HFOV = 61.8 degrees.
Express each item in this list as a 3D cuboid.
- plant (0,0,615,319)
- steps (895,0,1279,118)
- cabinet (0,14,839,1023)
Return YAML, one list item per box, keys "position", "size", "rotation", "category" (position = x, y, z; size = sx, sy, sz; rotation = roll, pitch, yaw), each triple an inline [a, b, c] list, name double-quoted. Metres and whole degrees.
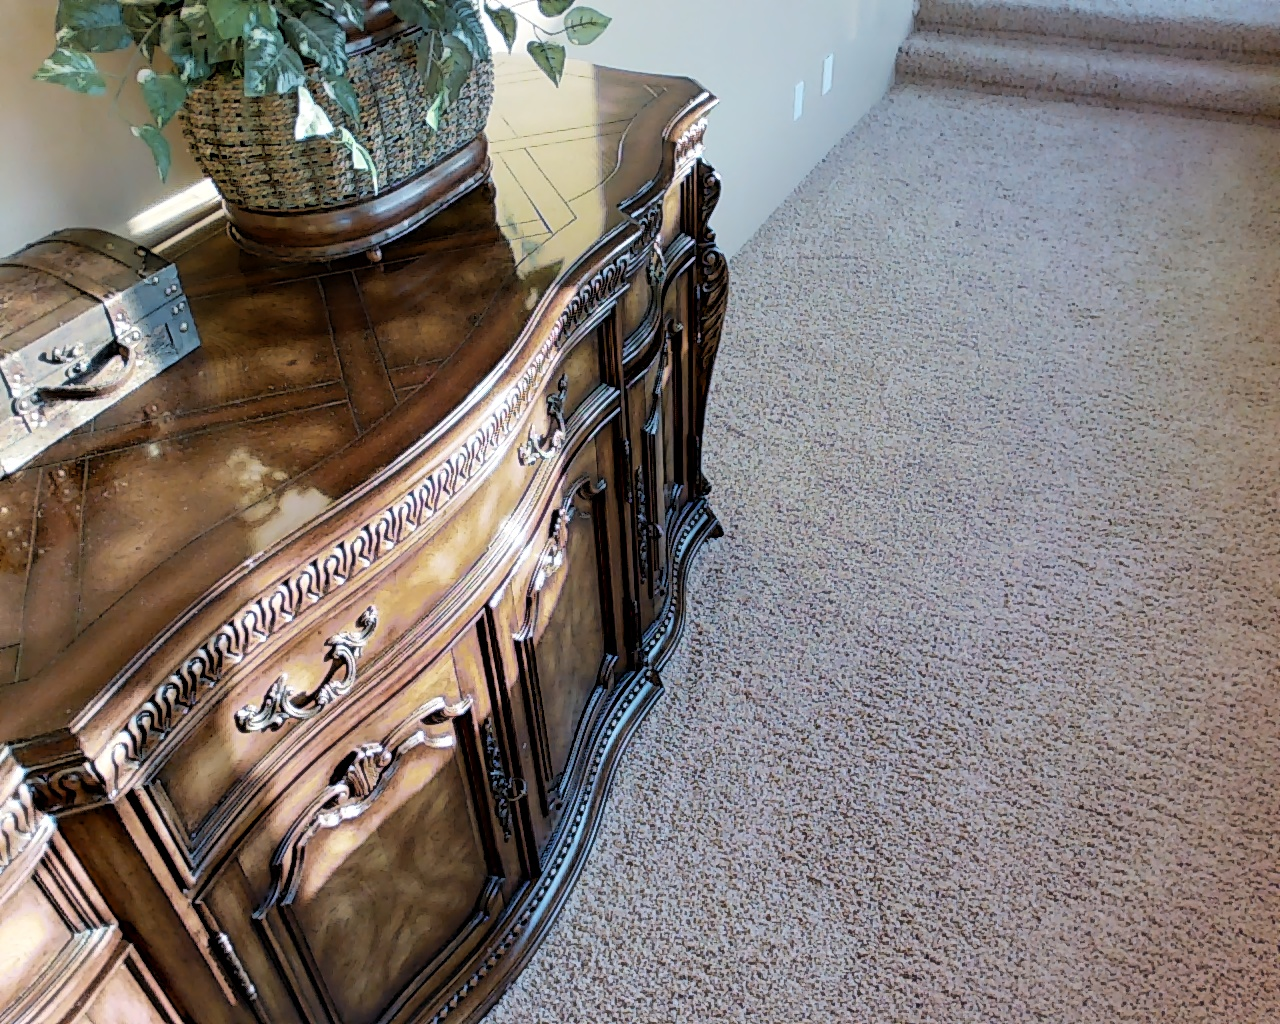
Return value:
- position: [-0.380, -0.650, 1.410]
  size: [0.380, 0.430, 0.720]
  rotation: [16, 44, 22]
  category: "plant"
- position: [1.981, -1.879, 4.360]
  size: [1.791, 0.280, 0.320]
  rotation: [16, 44, 22]
  category: "steps"
- position: [-0.430, 0.170, 1.480]
  size: [0.640, 0.990, 2.200]
  rotation: [16, 44, 22]
  category: "cabinet"
